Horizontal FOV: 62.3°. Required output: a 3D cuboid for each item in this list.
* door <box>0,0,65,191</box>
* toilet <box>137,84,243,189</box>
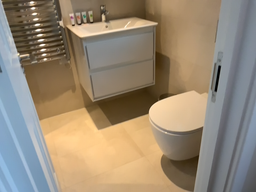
[{"bbox_3d":[-0.410,-0.180,0.750,0.030,1.990,0.750,-16,32,-20],"label":"door"},{"bbox_3d":[0.400,0.250,1.490,0.540,0.430,0.400,-16,32,-21],"label":"toilet"}]
